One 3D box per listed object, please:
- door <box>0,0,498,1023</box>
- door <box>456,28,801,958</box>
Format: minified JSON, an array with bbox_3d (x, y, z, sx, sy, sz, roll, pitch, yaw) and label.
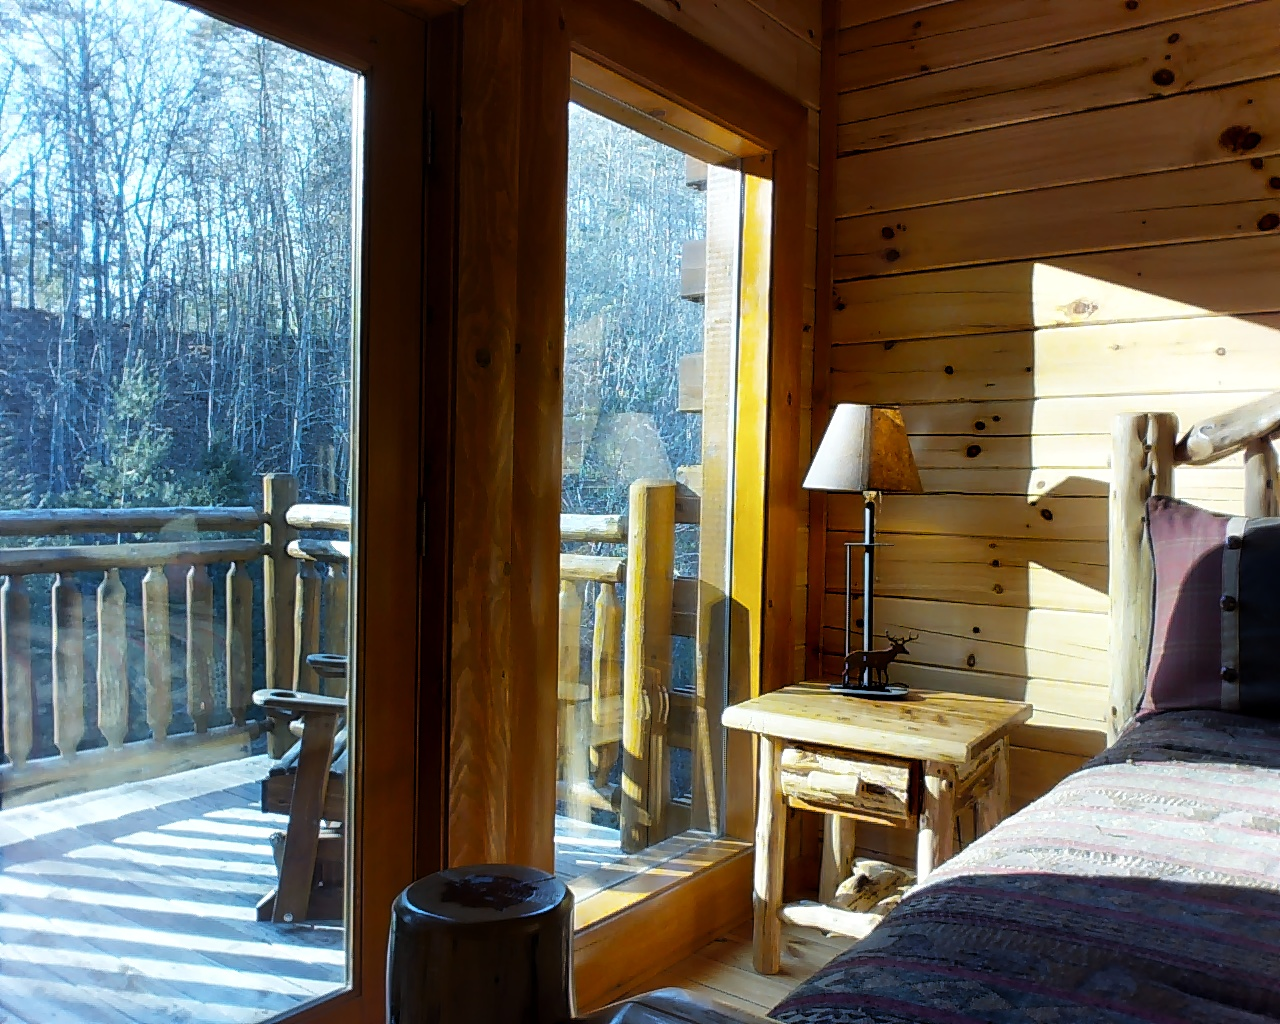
[{"bbox_3d":[-0.660,0.030,1.700,0.180,2.121,1.040,2,3,37],"label":"door"},{"bbox_3d":[0.010,-0.040,2.680,0.340,1.901,0.940,2,3,37],"label":"door"}]
